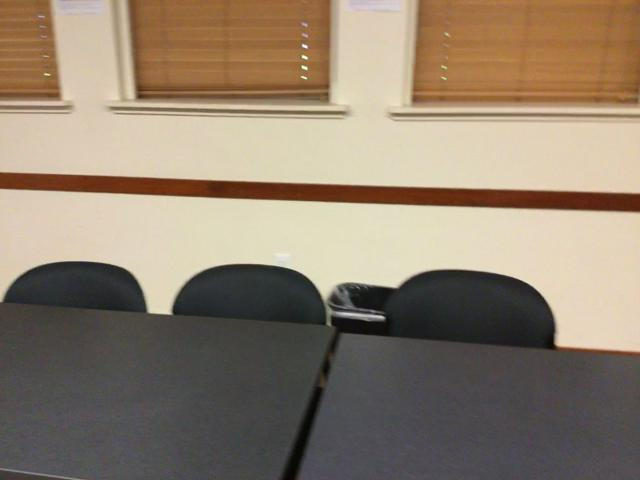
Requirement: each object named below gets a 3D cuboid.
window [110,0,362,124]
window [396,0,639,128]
[{"bbox_3d":[-0.340,-0.760,2.400,0.990,0.510,0.230,3,16,11],"label":"window"},{"bbox_3d":[0.870,-0.700,2.190,1.120,0.510,0.240,3,16,11],"label":"window"}]
